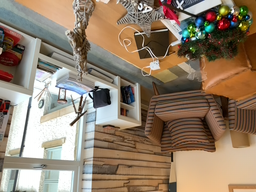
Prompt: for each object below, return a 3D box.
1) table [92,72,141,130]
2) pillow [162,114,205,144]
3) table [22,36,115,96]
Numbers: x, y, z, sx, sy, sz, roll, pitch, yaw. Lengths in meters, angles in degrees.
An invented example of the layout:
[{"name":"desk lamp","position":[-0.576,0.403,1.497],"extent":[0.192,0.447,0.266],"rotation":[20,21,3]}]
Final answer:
[{"name":"table","position":[-0.130,0.080,2.520],"extent":[0.350,0.530,0.450],"rotation":[-18,153,37]},{"name":"pillow","position":[0.690,0.400,2.620],"extent":[0.470,0.310,0.150],"rotation":[-3,147,26]},{"name":"table","position":[-0.550,-0.250,2.120],"extent":[0.350,0.200,0.830],"rotation":[-18,153,37]}]
